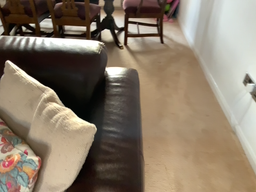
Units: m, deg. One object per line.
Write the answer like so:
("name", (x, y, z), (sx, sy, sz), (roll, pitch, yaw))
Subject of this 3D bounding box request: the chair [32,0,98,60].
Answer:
("chair", (-0.640, -0.980, 2.290), (0.520, 0.980, 0.590), (2, 38, -2))

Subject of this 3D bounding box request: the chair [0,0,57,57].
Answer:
("chair", (-1.190, -1.010, 2.280), (0.530, 0.990, 0.590), (2, 38, -2))

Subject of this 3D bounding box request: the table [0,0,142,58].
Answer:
("table", (-0.930, -1.130, 2.650), (2.130, 0.740, 1.160), (3, 38, -1))

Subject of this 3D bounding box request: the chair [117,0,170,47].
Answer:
("chair", (0.170, -1.200, 2.640), (0.590, 0.970, 0.590), (2, 38, -2))
